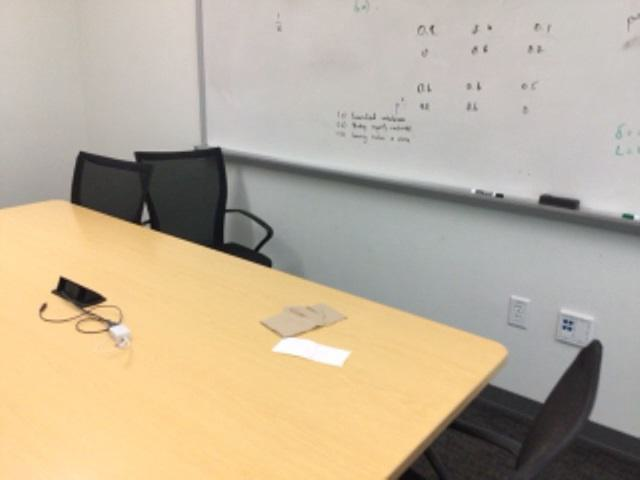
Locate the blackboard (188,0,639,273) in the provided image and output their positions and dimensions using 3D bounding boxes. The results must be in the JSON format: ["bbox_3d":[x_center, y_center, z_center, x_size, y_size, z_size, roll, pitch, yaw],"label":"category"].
[{"bbox_3d":[0.350,-0.720,2.140,2.420,1.270,0.190,16,23,38],"label":"blackboard"}]
